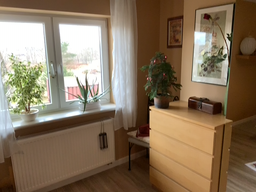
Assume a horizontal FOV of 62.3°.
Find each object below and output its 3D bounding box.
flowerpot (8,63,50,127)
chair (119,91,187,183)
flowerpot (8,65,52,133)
[{"bbox_3d":[-1.060,-0.030,2.290,0.300,0.630,0.200,-11,16,-38],"label":"flowerpot"},{"bbox_3d":[0.340,0.510,2.990,0.720,1.010,0.580,-9,15,-33],"label":"chair"},{"bbox_3d":[-1.070,0.010,2.330,0.340,0.670,0.250,-9,15,-34],"label":"flowerpot"}]
